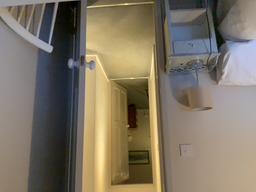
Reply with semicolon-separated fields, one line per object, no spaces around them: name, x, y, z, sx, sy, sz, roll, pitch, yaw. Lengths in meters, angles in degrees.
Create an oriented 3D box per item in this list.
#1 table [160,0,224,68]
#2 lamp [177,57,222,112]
table;0.510;-0.620;1.790;0.410;0.700;0.260;-2;167;2
lamp;0.540;-0.080;1.650;0.260;0.380;0.210;-2;167;4
